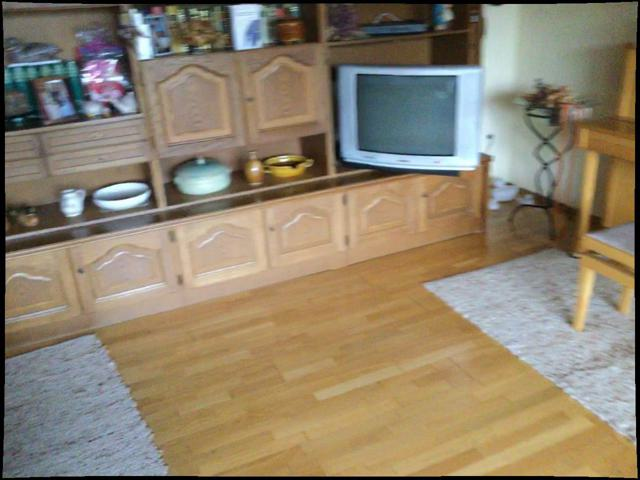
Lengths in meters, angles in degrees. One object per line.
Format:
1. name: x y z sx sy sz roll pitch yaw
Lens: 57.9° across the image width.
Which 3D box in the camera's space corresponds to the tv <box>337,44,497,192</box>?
1. tv: 0.549 -0.711 3.220 0.709 0.641 0.630 8 28 22
